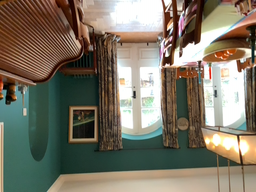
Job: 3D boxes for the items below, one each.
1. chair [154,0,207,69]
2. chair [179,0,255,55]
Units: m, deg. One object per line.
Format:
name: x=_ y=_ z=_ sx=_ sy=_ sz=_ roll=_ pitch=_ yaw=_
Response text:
chair: x=0.580 y=-0.800 z=2.460 sx=0.460 sy=0.900 sz=0.450 roll=-1 pitch=177 yaw=-2
chair: x=0.690 y=-0.840 z=1.720 sx=0.430 sy=0.900 sz=0.450 roll=-1 pitch=177 yaw=-2
